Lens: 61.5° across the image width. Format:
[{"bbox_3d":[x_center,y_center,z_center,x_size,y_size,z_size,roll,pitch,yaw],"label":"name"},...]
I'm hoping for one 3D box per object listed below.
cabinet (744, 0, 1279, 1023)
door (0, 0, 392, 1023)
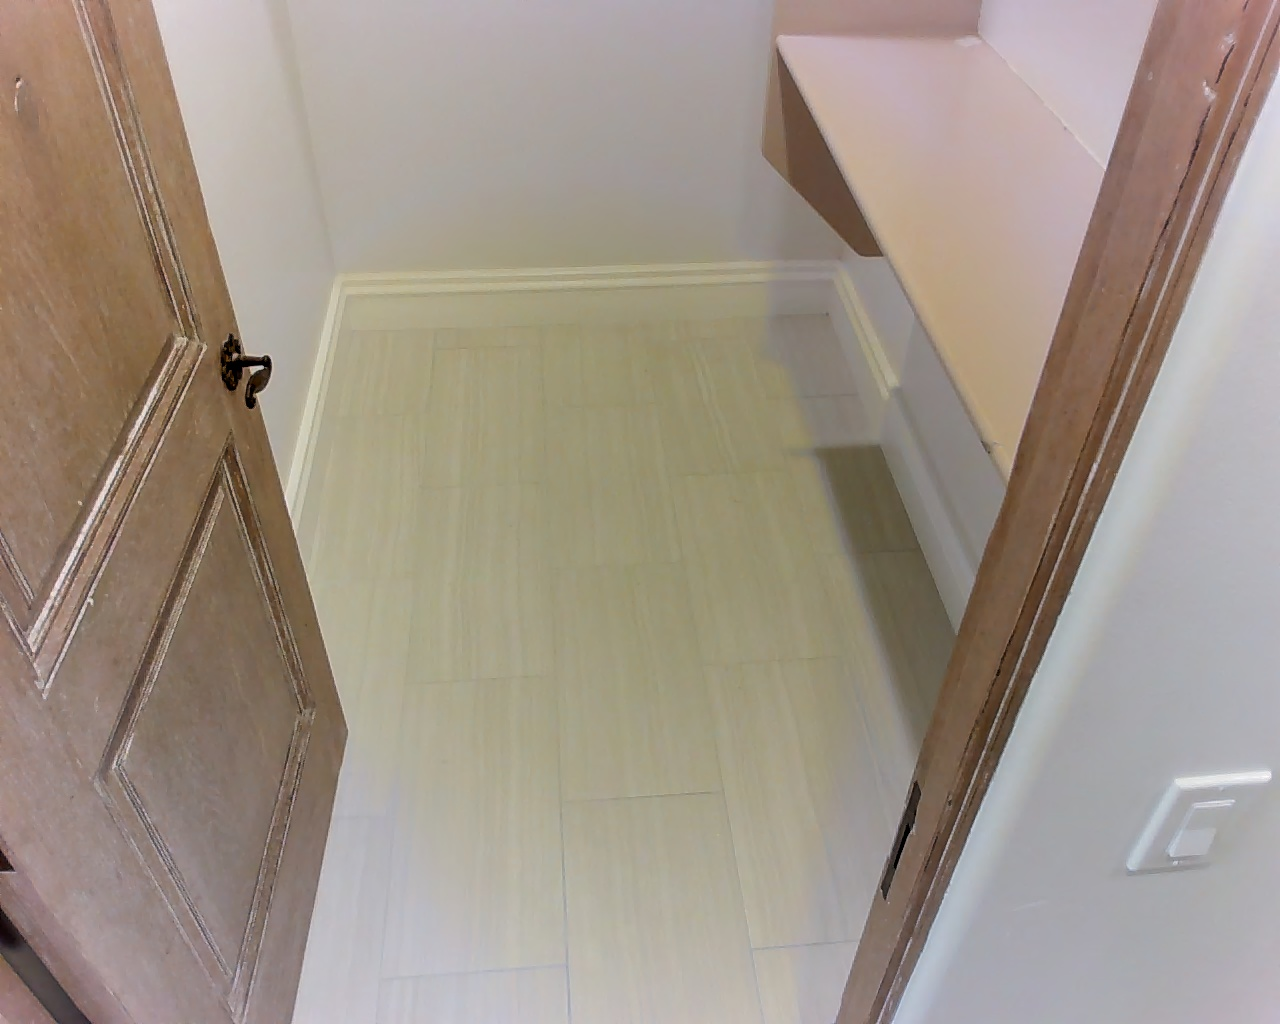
[{"bbox_3d":[0.530,-0.030,1.820,0.410,1.070,1.590,-4,43,-3],"label":"cabinet"},{"bbox_3d":[-0.530,-0.220,1.010,0.090,2.450,0.810,-2,43,-1],"label":"door"}]
